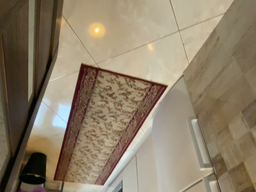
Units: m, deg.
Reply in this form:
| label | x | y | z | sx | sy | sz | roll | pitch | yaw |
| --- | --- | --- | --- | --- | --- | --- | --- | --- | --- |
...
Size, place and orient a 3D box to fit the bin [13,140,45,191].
| label | x | y | z | sx | sy | sz | roll | pitch | yaw |
| --- | --- | --- | --- | --- | --- | --- | --- | --- | --- |
| bin | -1.080 | 0.770 | 2.330 | 0.200 | 0.440 | 0.290 | 13 | 134 | -16 |
